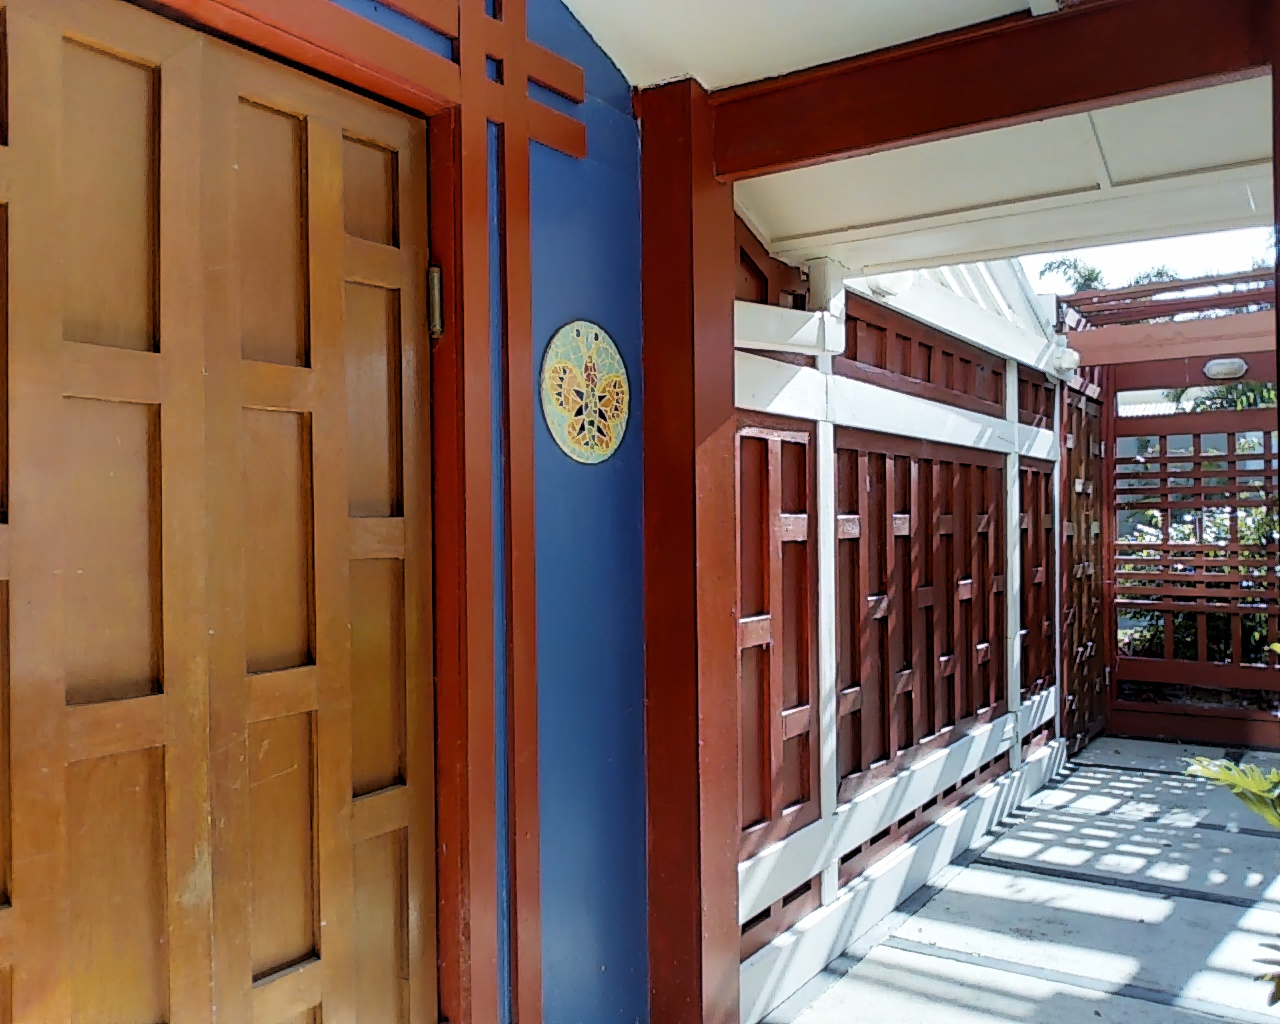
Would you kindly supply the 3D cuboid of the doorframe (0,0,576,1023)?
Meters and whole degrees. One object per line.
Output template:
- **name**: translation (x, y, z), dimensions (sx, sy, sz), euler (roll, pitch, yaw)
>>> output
- **doorframe**: translation (-0.610, 0.220, 1.420), dimensions (0.130, 2.151, 1.540), euler (-1, 0, 34)
